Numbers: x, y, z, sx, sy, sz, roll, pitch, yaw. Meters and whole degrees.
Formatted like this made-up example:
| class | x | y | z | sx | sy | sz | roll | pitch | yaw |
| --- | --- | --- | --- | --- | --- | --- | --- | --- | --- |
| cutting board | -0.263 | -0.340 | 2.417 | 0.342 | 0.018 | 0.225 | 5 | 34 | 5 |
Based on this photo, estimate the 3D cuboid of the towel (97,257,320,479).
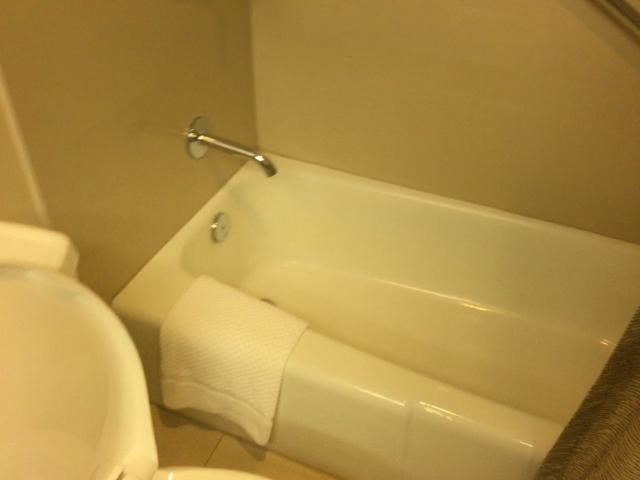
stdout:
| class | x | y | z | sx | sy | sz | roll | pitch | yaw |
| --- | --- | --- | --- | --- | --- | --- | --- | --- | --- |
| towel | -0.240 | 0.300 | 1.350 | 0.410 | 0.360 | 0.230 | 15 | 40 | 15 |

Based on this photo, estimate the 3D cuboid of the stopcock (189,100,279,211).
| class | x | y | z | sx | sy | sz | roll | pitch | yaw |
| --- | --- | --- | --- | --- | --- | --- | --- | --- | --- |
| stopcock | -0.220 | -0.230 | 1.540 | 0.130 | 0.180 | 0.240 | 15 | 40 | 15 |
